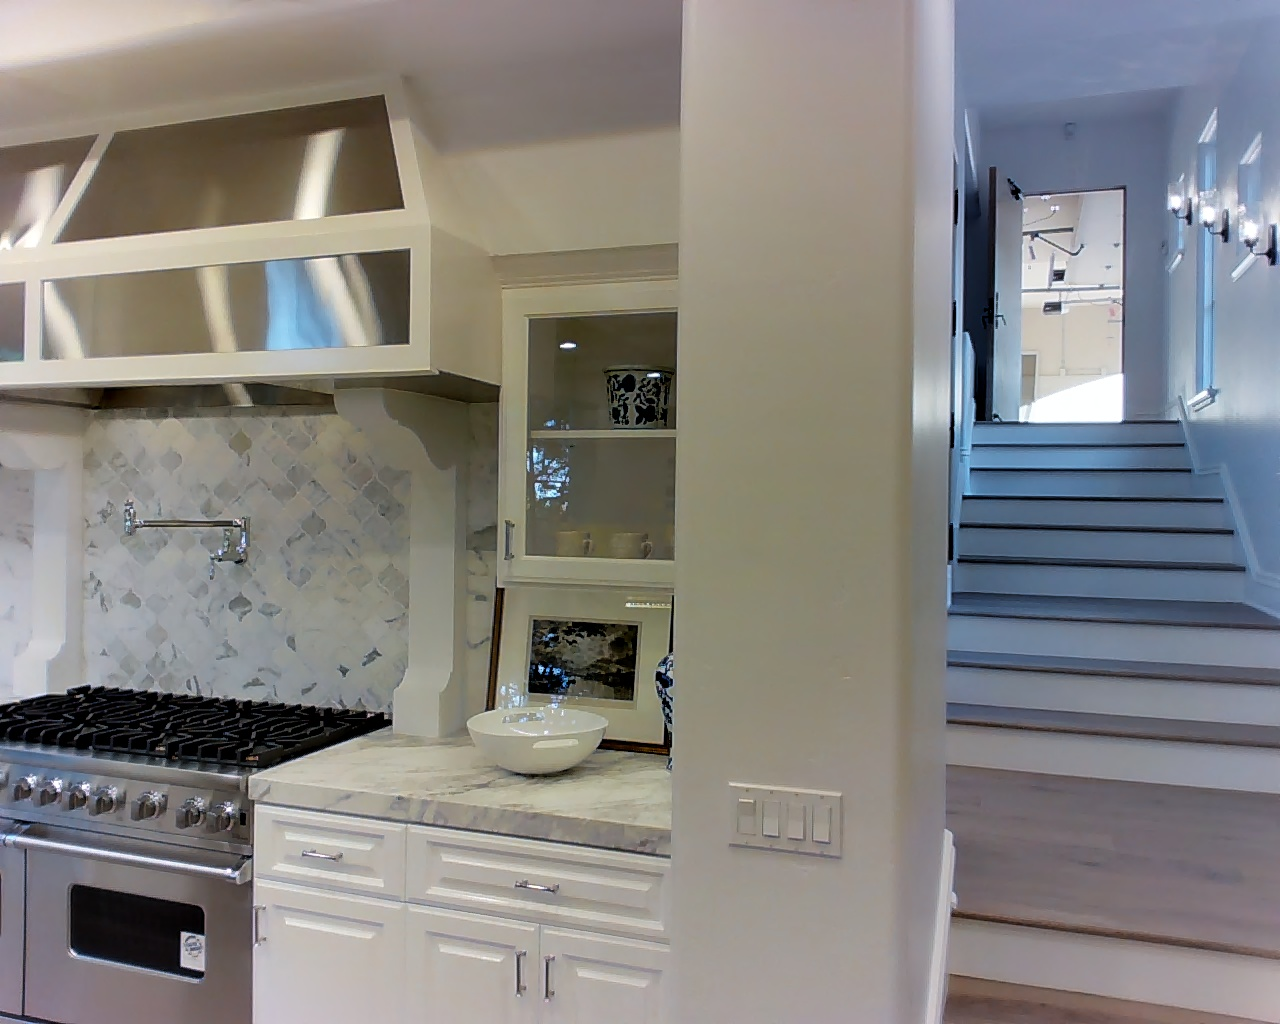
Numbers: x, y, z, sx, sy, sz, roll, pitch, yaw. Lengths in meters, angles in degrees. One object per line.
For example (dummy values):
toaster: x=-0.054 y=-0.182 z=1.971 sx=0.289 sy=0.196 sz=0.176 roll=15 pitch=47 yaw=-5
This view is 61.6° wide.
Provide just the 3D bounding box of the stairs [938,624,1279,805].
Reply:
stairs: x=2.039 y=0.810 z=4.500 sx=1.460 sy=0.550 sz=0.740 roll=1 pitch=0 yaw=20

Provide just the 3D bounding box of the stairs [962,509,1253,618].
stairs: x=2.639 y=0.270 z=6.190 sx=1.450 sy=0.560 sz=0.710 roll=1 pitch=0 yaw=20

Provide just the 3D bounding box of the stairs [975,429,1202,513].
stairs: x=3.279 y=-0.290 z=7.950 sx=1.480 sy=0.570 sz=0.730 roll=1 pitch=0 yaw=20
